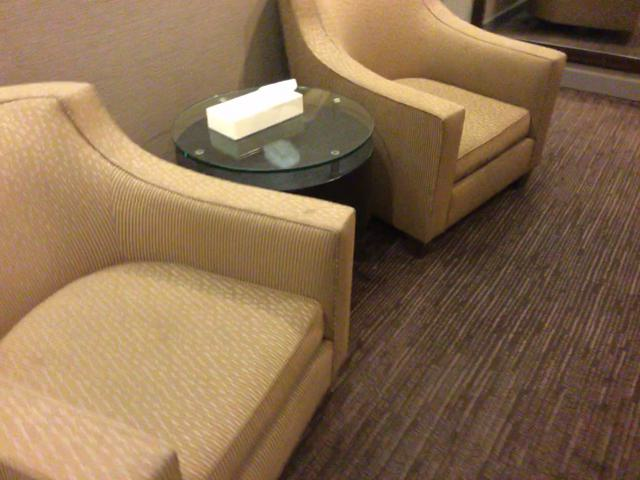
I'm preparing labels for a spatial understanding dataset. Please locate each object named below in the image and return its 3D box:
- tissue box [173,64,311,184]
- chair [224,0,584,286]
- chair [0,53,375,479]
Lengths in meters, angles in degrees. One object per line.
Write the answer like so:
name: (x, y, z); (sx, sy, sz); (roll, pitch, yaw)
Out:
tissue box: (-0.220, -0.360, 1.740); (0.220, 0.230, 0.340); (16, 37, 29)
chair: (0.340, -0.590, 2.320); (0.910, 0.930, 0.940); (-33, 42, -32)
chair: (-0.490, 0.180, 1.250); (0.980, 0.900, 0.880); (9, 34, 21)
